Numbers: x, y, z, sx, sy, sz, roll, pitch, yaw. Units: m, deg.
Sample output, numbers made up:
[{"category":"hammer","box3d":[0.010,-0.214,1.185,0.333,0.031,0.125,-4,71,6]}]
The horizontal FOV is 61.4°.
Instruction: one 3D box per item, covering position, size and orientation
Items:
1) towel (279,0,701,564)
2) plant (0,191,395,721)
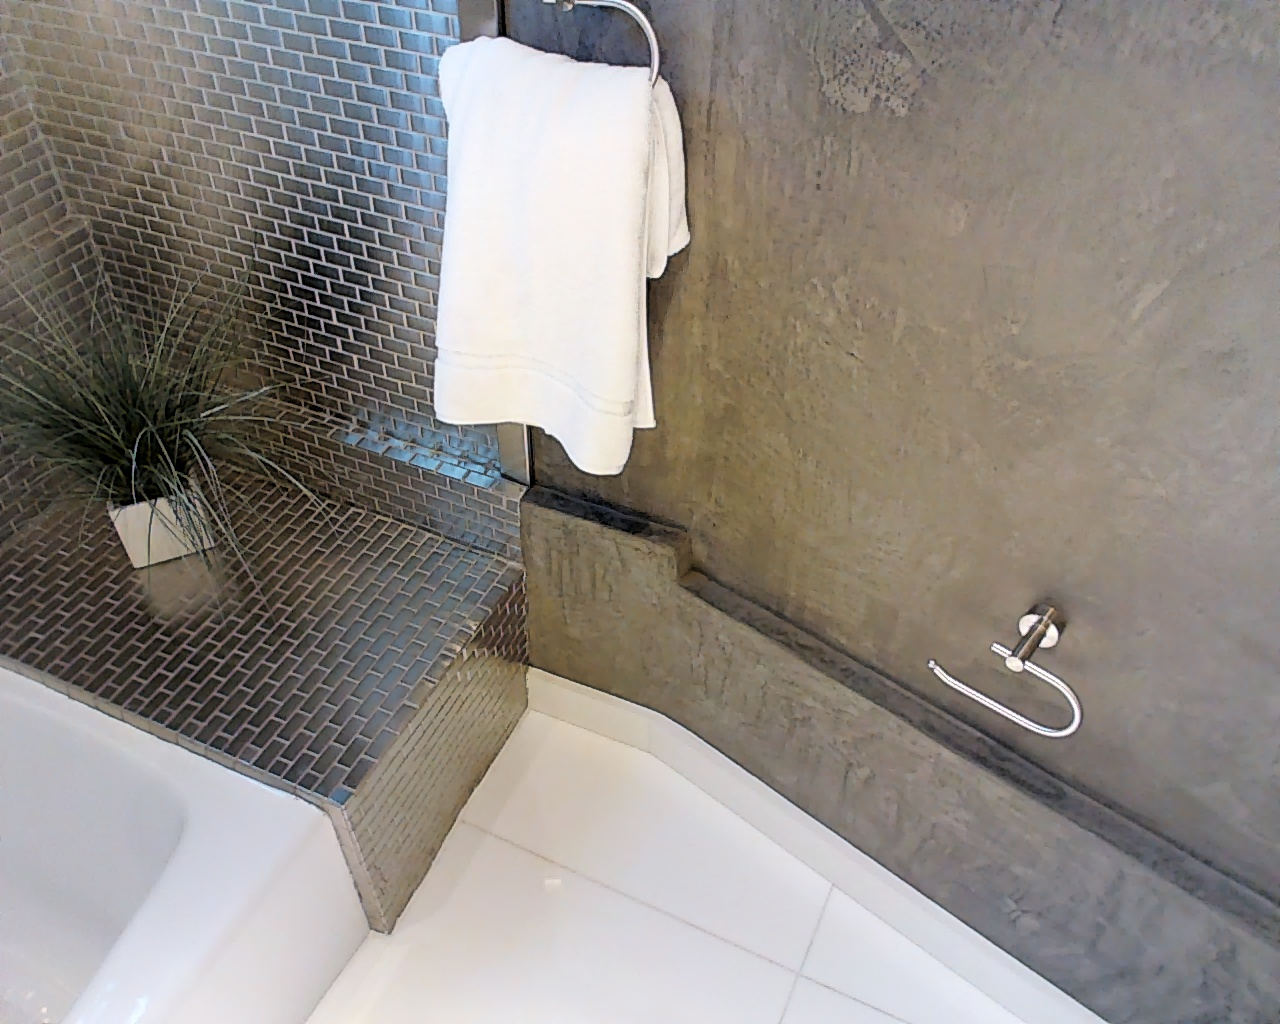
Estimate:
[{"category":"towel","box3d":[-0.150,-0.280,1.290,0.370,0.630,0.200,17,44,17]},{"category":"plant","box3d":[-0.740,-0.100,1.570,0.520,0.480,0.460,17,44,17]}]
